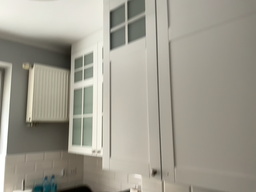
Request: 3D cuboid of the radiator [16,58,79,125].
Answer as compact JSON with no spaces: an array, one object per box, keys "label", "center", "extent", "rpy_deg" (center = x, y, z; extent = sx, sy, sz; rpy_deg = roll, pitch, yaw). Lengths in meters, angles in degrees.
[{"label":"radiator","center":[-0.870,-0.010,2.370],"extent":[0.210,0.660,0.610],"rpy_deg":[-8,-11,43]}]
